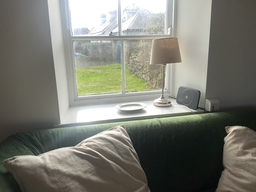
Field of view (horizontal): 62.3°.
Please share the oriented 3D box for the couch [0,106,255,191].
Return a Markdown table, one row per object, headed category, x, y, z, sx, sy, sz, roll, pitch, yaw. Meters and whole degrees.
| category | x | y | z | sx | sy | sz | roll | pitch | yaw |
| --- | --- | --- | --- | --- | --- | --- | --- | --- | --- |
| couch | 0.260 | 0.540 | 1.130 | 1.920 | 0.660 | 0.840 | -3 | 16 | -9 |
